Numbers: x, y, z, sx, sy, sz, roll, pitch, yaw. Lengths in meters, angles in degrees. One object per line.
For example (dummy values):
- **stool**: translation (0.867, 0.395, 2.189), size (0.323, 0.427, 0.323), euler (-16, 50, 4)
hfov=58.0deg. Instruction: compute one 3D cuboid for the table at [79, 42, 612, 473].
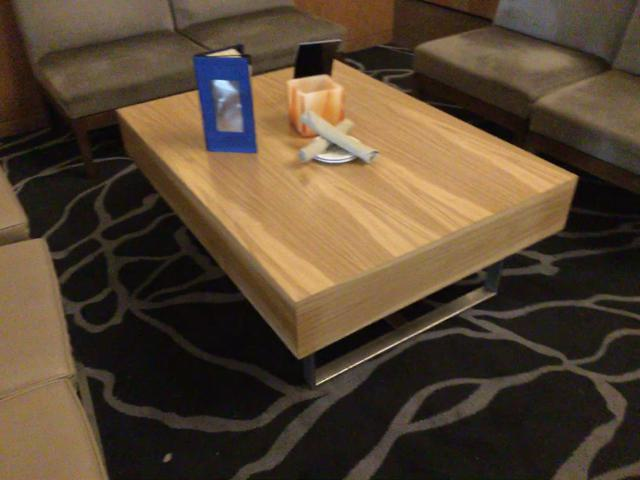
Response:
- **table**: translation (-0.040, -0.150, 1.890), size (1.030, 0.470, 1.370), euler (-20, 40, -25)
